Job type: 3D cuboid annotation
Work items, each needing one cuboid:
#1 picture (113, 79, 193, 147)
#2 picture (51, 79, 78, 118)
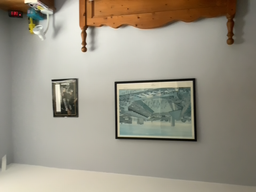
[{"bbox_3d":[0.230,0.150,2.070,0.770,0.630,0.070,1,-178,13],"label":"picture"},{"bbox_3d":[-0.690,0.020,2.300,0.300,0.410,0.050,1,-178,15],"label":"picture"}]
